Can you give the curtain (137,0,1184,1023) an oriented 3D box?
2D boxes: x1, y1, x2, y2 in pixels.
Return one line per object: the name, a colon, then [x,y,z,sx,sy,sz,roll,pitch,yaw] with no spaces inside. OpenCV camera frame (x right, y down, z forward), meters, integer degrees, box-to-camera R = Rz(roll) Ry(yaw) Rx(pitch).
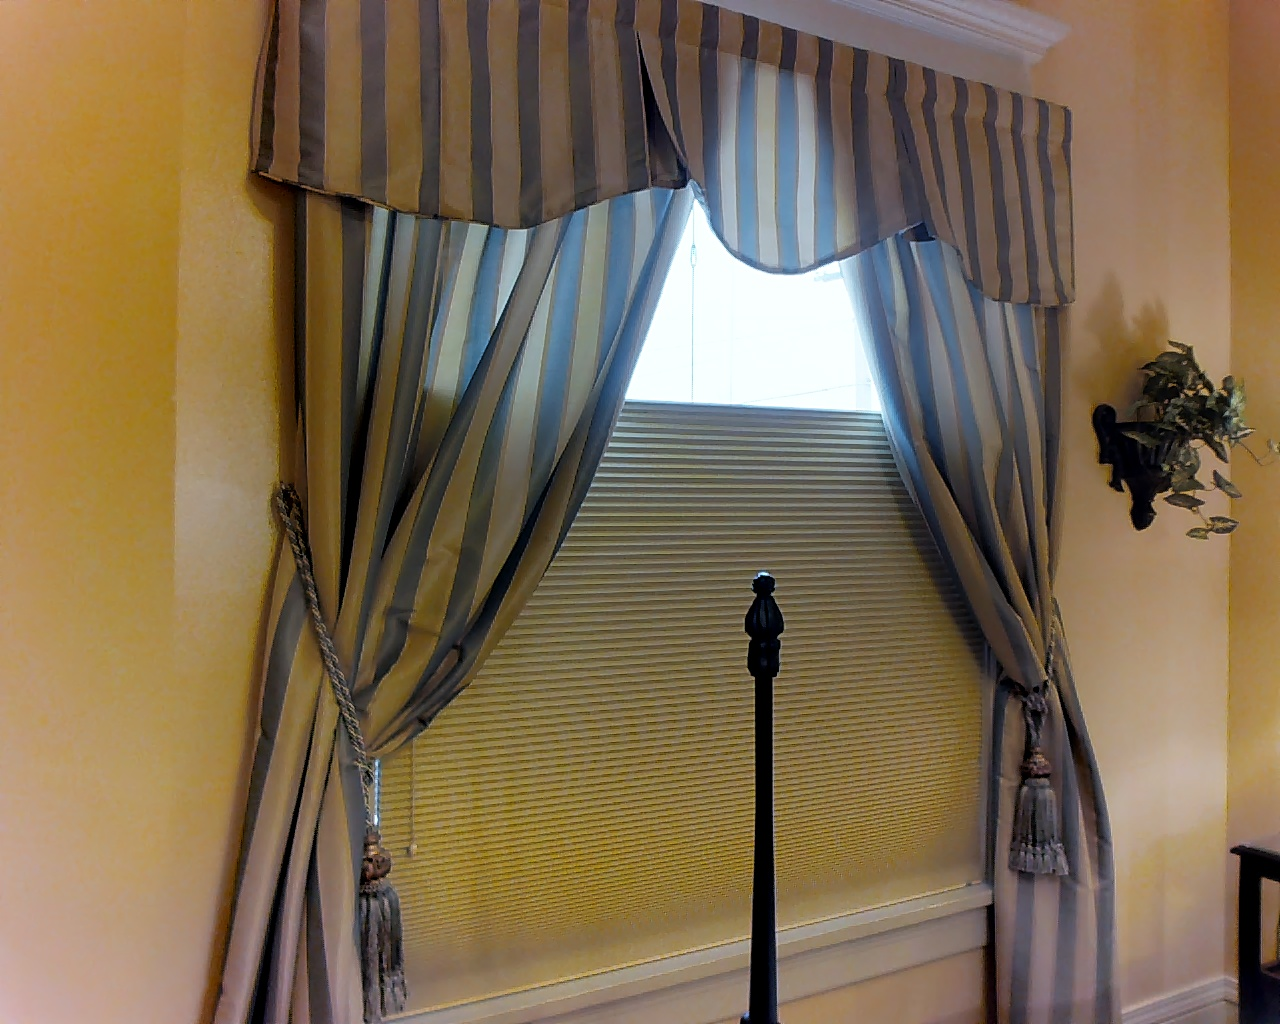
curtain: [0.230,0.270,2.040,2.109,2.561,0.320,1,0,-30]
